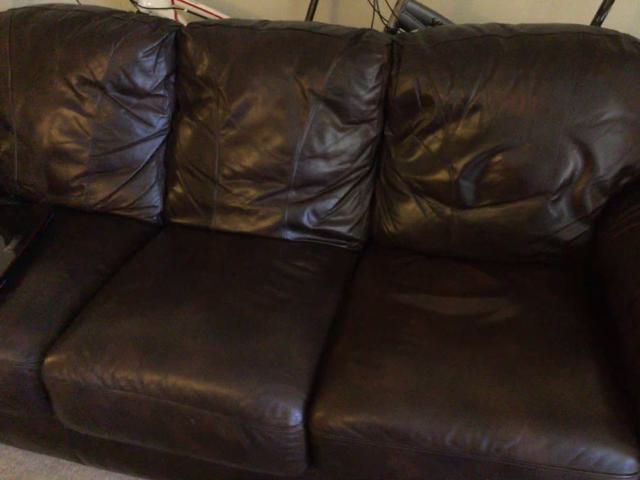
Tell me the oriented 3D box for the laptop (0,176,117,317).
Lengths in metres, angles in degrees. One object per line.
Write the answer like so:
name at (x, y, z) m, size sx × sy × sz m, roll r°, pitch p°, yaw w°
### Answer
laptop at (-0.800, 0.000, 1.380) m, size 0.390 × 0.050 × 0.510 m, roll 12°, pitch 32°, yaw 9°

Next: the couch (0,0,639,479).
couch at (-0.190, 0.020, 1.390) m, size 2.090 × 1.070 × 0.910 m, roll 12°, pitch 32°, yaw 9°
